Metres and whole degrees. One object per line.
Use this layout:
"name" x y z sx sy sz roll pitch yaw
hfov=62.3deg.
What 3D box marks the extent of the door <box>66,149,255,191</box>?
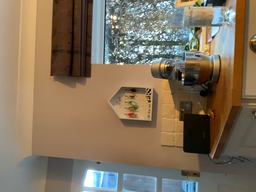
"door" 0.500 0.960 1.810 0.040 2.170 0.810 48 -135 -77
